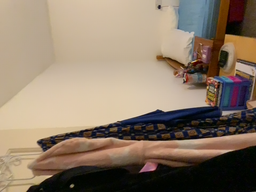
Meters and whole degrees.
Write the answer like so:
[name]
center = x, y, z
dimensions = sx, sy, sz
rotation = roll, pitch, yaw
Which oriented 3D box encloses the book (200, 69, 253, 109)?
[book]
center = 0.730, -0.060, 1.610
dimensions = 0.230, 0.250, 0.240
rotation = -105, 14, -69
